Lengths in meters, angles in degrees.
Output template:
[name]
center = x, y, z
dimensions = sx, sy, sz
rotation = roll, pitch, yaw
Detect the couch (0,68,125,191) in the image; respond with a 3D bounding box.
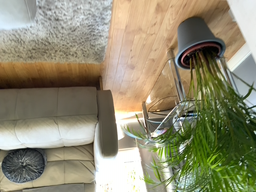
[couch]
center = -1.050, 0.490, 1.750
dimensions = 1.830, 1.020, 0.990
rotation = -2, 154, -12
